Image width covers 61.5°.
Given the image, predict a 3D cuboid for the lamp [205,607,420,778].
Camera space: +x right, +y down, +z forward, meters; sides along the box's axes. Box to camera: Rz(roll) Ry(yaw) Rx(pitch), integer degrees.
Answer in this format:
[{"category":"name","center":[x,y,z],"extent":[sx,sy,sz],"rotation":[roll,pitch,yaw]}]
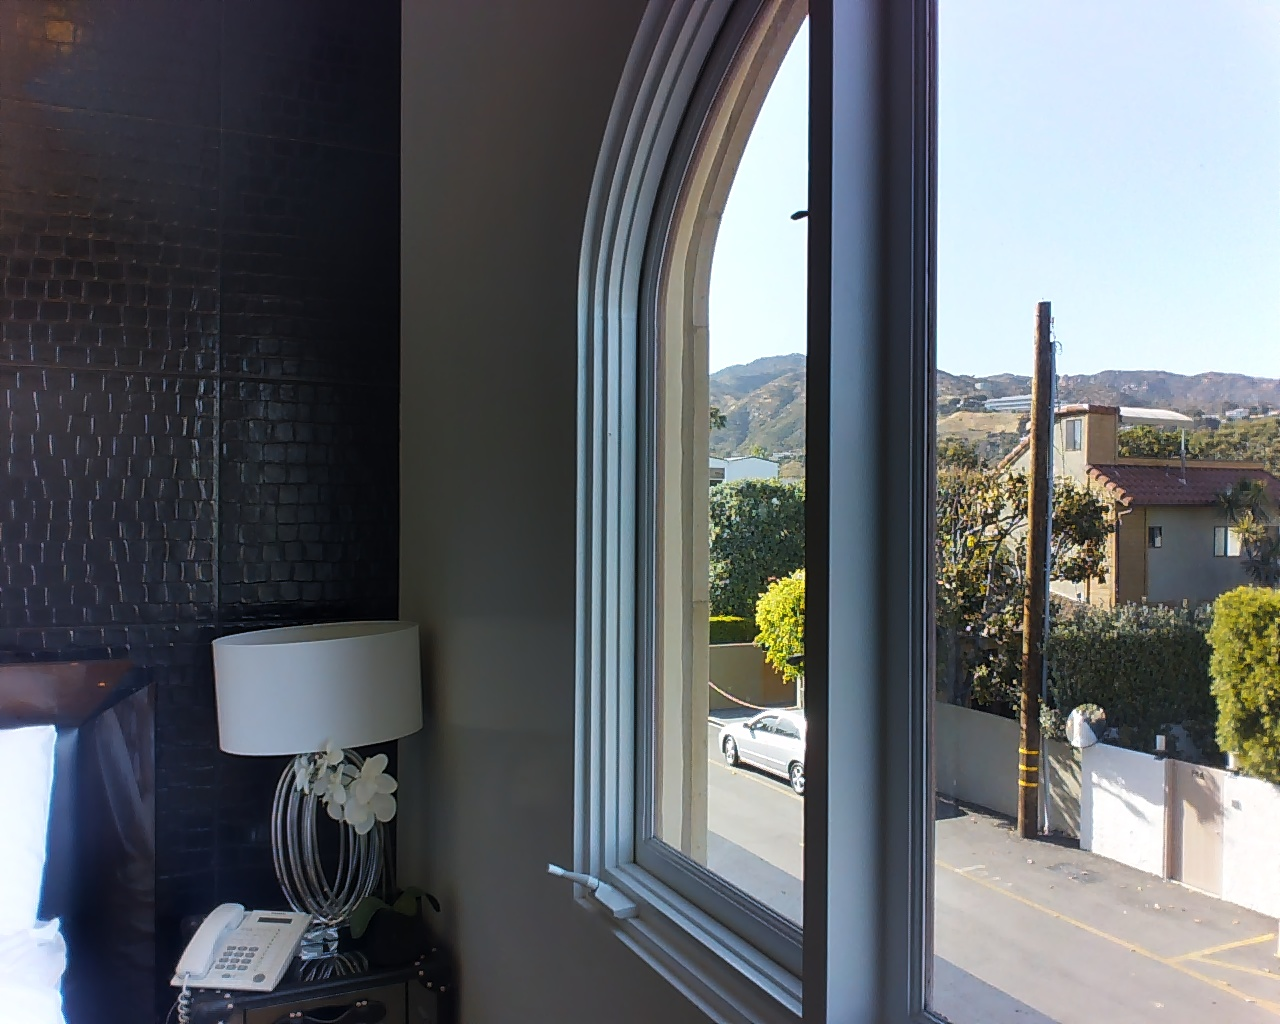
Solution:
[{"category":"lamp","center":[-0.730,0.380,2.380],"extent":[0.410,0.300,0.320],"rotation":[0,0,-26]}]
